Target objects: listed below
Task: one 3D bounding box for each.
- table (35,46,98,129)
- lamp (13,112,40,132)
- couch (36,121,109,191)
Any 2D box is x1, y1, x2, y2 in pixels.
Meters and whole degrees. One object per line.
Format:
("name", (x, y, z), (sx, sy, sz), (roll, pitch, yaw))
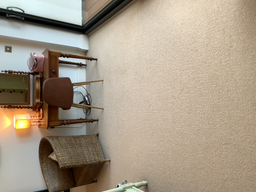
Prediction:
("table", (-0.890, -0.090, 3.090), (0.530, 0.740, 1.050), (-4, 86, 54))
("lamp", (-1.400, 0.350, 2.920), (0.200, 0.300, 0.240), (-5, 85, 54))
("couch", (-0.810, 0.830, 2.980), (0.710, 0.710, 0.620), (-59, 45, 35))
